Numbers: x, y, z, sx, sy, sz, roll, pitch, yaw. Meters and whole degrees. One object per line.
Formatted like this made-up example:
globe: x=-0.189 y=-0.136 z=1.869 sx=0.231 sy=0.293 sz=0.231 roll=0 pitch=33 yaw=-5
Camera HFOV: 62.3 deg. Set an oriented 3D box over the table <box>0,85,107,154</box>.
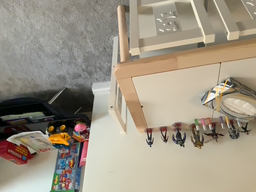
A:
table: x=-0.820 y=0.240 z=1.840 sx=1.180 sy=0.300 sz=0.440 roll=-8 pitch=143 yaw=8
